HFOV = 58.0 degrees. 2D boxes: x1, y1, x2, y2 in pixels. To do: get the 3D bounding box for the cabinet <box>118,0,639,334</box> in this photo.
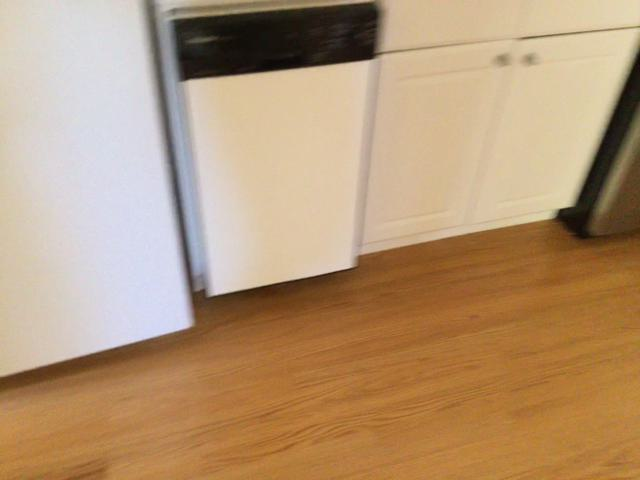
[{"bbox_3d":[0.200,-0.460,1.680,1.310,1.010,0.690,-12,41,-9],"label":"cabinet"}]
